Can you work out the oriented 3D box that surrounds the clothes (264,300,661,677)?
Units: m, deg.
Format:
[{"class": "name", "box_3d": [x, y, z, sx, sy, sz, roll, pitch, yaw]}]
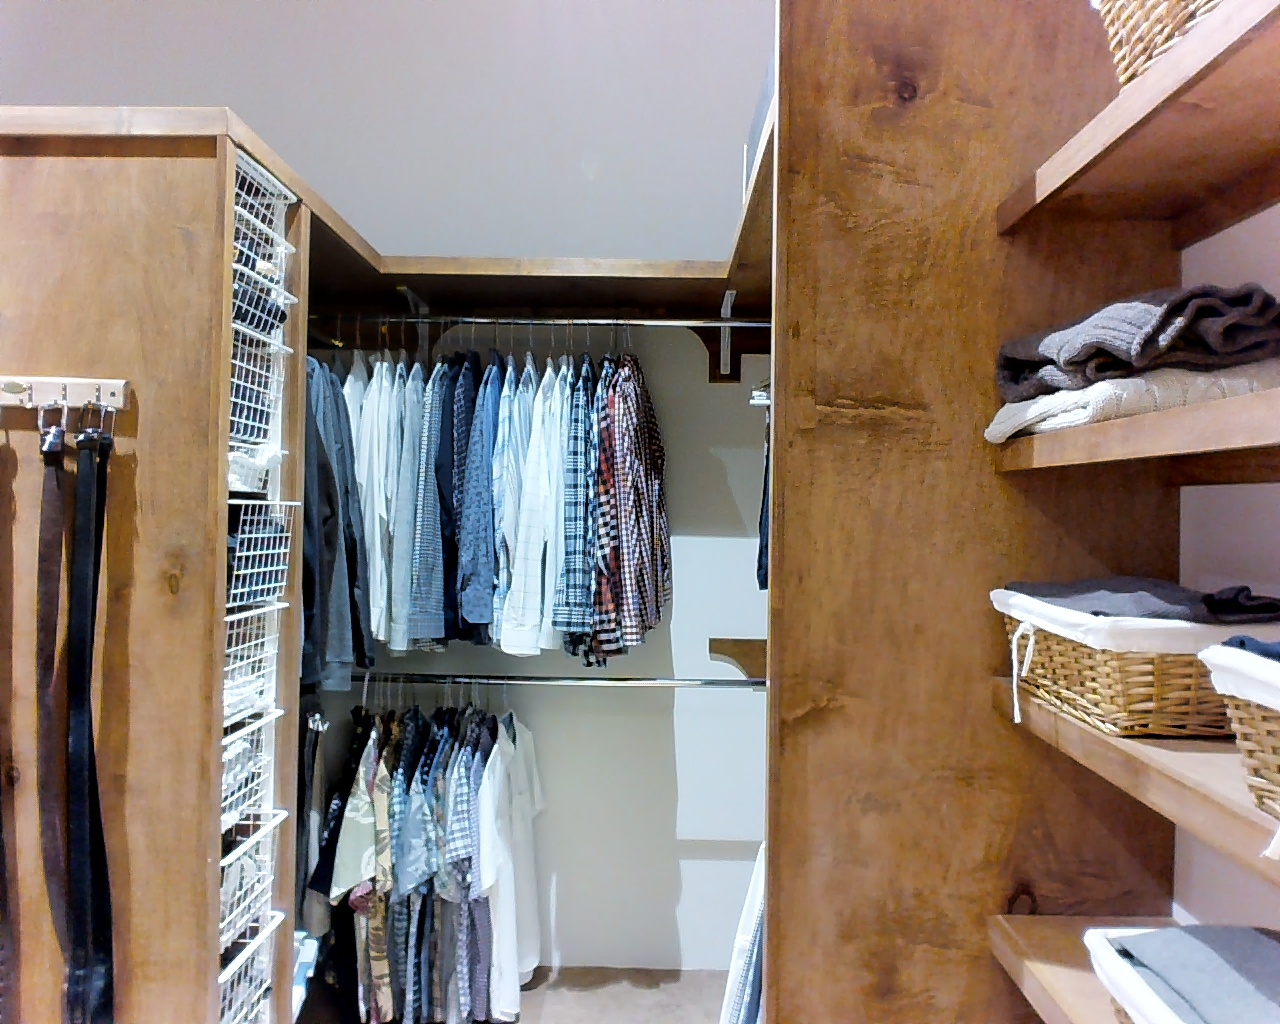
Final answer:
[{"class": "clothes", "box_3d": [-0.440, -0.060, 2.960, 0.980, 0.930, 0.580, 1, 0, 1]}]

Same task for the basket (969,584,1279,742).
[{"class": "basket", "box_3d": [0.630, 0.180, 1.370, 0.310, 0.150, 0.350, 1, 0, 0]}]

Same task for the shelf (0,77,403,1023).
[{"class": "shelf", "box_3d": [-1.000, 0.360, 2.250, 0.710, 2.100, 1.100, 1, 0, 2]}]

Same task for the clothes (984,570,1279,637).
[{"class": "clothes", "box_3d": [0.640, 0.110, 1.350, 0.290, 0.050, 0.380, 1, 0, 0]}]

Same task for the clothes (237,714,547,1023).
[{"class": "clothes", "box_3d": [-0.640, 1.020, 2.970, 0.700, 0.790, 0.660, 1, 0, 0]}]

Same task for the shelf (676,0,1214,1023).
[{"class": "shelf", "box_3d": [0.470, 0.270, 2.480, 0.720, 2.331, 1.870, 1, 0, 1]}]
